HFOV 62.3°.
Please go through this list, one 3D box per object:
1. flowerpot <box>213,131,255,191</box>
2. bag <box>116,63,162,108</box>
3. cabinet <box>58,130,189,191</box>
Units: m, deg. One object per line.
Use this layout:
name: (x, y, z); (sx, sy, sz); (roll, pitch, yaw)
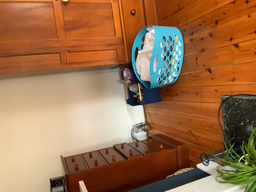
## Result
flowerpot: (0.770, 0.490, 1.200); (0.390, 0.300, 0.470); (178, 83, -68)
bag: (0.120, -0.130, 2.600); (0.510, 0.330, 0.470); (-175, 78, -67)
cabinet: (-0.050, 0.750, 2.140); (0.530, 1.160, 0.520); (178, 83, -68)
